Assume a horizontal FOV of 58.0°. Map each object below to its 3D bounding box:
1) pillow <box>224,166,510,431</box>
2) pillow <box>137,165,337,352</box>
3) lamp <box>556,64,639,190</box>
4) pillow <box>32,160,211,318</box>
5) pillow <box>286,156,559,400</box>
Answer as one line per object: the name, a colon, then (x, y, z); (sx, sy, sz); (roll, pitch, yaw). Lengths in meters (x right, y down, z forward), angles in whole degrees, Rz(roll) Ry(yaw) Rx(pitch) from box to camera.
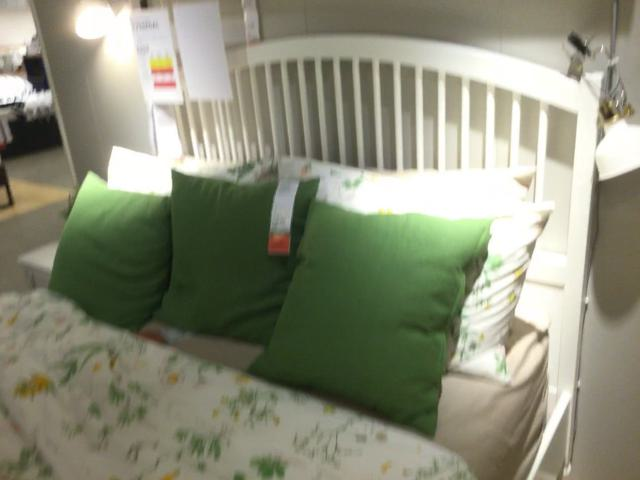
pillow: (0.100, 0.110, 1.300); (0.490, 0.460, 0.210); (12, -11, 35)
pillow: (-0.230, 0.040, 1.580); (0.450, 0.440, 0.210); (6, -5, 33)
lamp: (0.650, -0.250, 1.260); (0.210, 0.240, 0.130); (12, 27, 36)
pillow: (-0.600, -0.010, 1.750); (0.390, 0.370, 0.220); (12, -11, 35)
pillow: (0.230, 0.060, 1.400); (0.540, 0.450, 0.230); (12, 5, 35)
